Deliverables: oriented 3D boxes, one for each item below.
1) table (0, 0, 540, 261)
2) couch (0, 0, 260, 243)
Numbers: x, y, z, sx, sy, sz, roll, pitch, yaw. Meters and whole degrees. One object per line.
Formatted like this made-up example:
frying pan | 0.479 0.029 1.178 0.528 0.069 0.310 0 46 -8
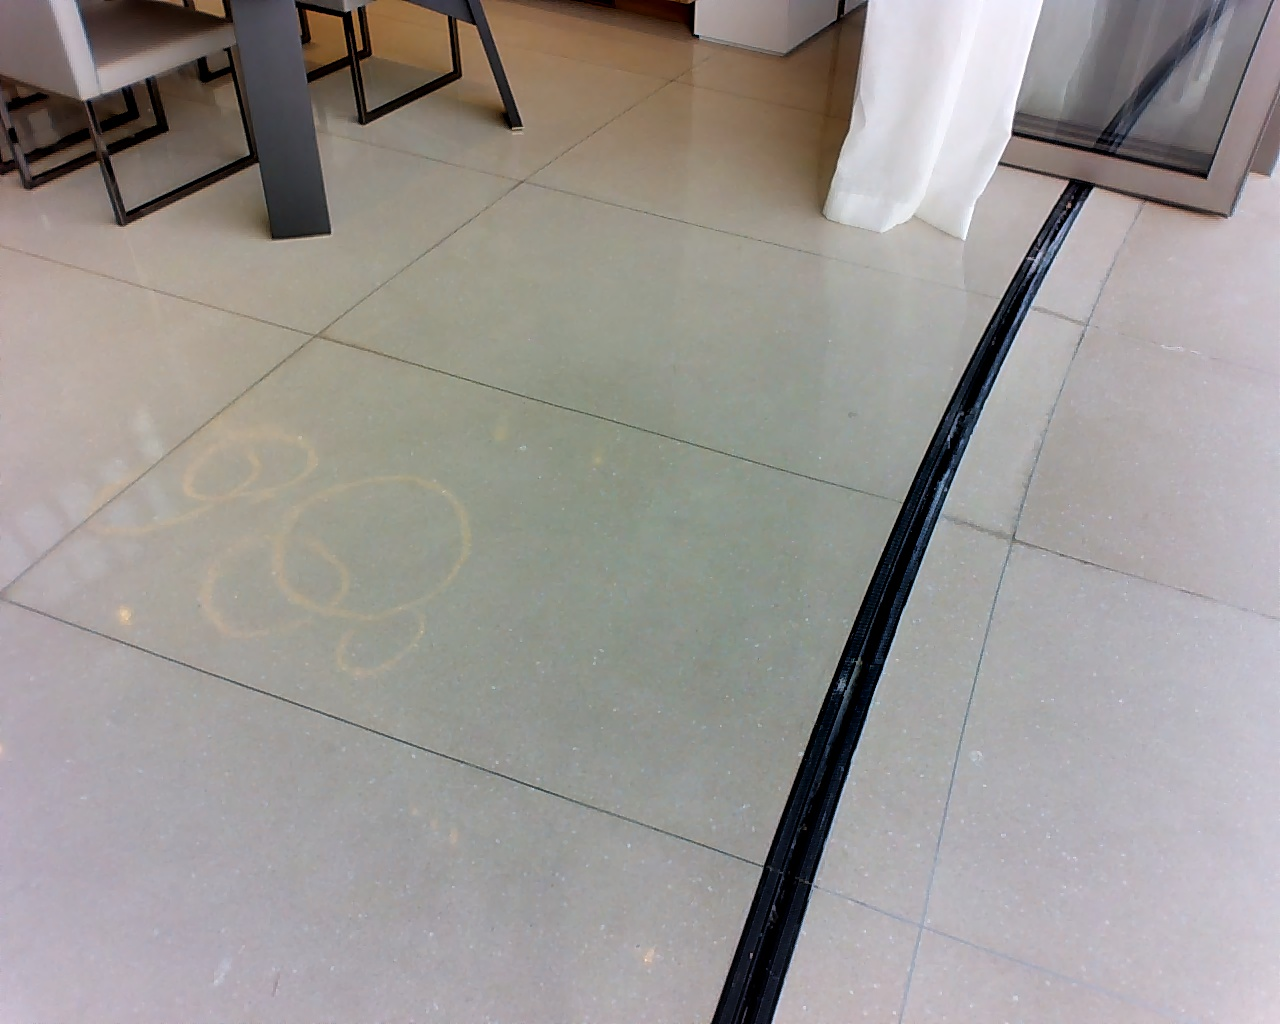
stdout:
table | -1.910 -1.840 3.890 2.840 0.640 1.300 23 46 23
couch | -1.650 -1.350 3.260 0.550 0.760 0.590 25 47 25
